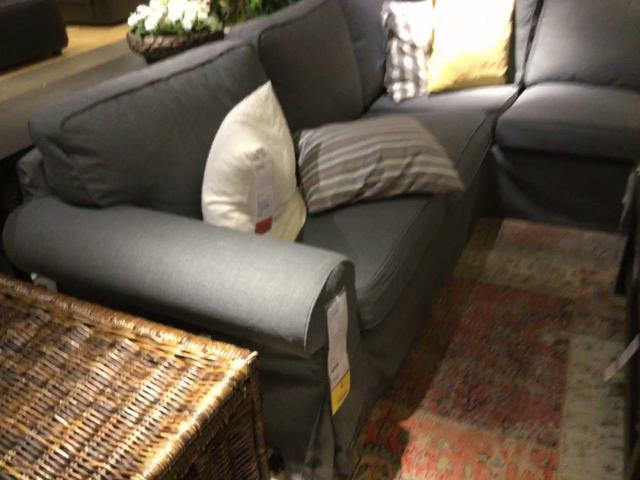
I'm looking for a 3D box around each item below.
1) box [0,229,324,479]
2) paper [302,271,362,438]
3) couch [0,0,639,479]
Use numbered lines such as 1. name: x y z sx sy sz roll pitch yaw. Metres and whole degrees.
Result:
1. box: -0.530 0.460 1.190 0.760 0.550 0.800 11 33 26
2. paper: 0.030 0.250 1.230 0.080 0.370 0.080 11 33 26
3. couch: 0.670 -0.300 1.820 2.700 1.090 2.570 11 33 26
